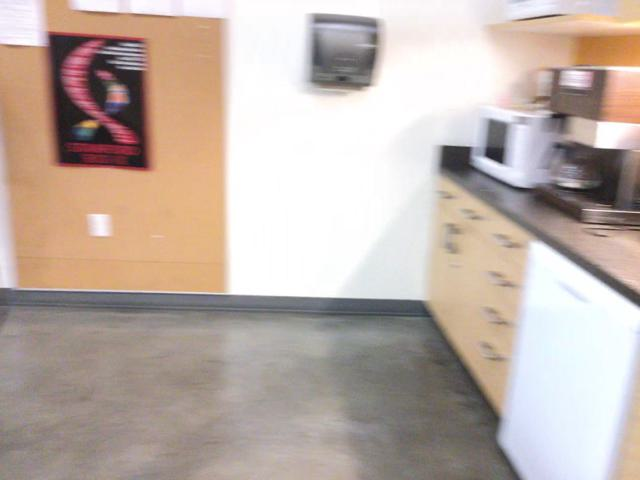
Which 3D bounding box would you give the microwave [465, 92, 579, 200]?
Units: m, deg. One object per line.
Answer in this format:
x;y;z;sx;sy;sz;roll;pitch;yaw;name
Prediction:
0.870;-0.440;2.580;0.220;0.390;0.570;6;15;-4;microwave

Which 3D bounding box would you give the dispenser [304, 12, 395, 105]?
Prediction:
0.120;-0.810;2.610;0.350;0.340;0.260;6;15;-4;dispenser
